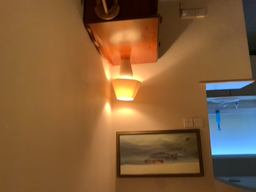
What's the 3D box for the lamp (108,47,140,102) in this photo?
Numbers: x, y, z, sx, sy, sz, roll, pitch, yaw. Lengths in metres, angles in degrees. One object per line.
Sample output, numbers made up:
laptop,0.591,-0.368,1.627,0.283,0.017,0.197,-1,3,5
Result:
lamp,-0.030,-0.190,2.010,0.260,0.450,0.290,-3,172,5
